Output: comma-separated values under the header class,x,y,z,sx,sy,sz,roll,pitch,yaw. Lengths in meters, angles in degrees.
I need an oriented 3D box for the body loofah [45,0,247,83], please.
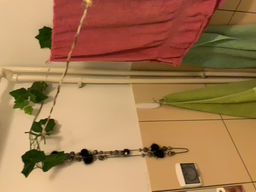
class,x,y,z,sx,sy,sz,roll,pitch,yaw
body loofah,0.030,-0.260,0.660,0.420,0.500,0.210,106,161,-52
